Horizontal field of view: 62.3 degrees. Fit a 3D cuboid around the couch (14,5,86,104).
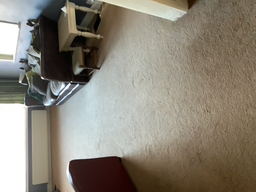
[{"bbox_3d":[-1.610,-0.560,4.070,2.100,0.870,1.050,-24,68,56],"label":"couch"}]
